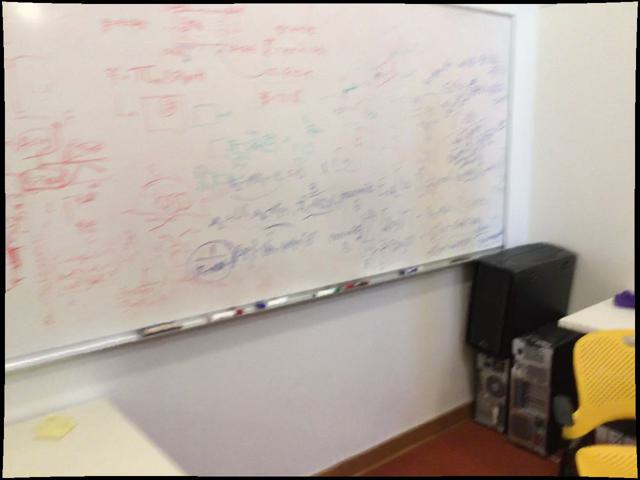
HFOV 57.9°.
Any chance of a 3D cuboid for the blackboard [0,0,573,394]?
[{"bbox_3d":[-0.260,-0.390,2.010,3.748,1.381,0.220,-9,16,-37],"label":"blackboard"}]
